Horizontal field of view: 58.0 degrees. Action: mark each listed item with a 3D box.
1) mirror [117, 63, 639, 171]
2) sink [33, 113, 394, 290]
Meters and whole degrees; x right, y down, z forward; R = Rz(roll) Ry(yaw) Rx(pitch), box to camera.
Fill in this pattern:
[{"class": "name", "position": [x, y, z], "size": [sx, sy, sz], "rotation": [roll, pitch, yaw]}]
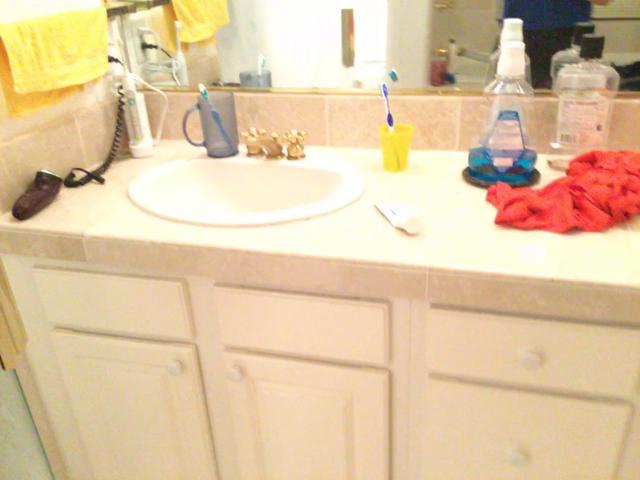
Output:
[{"class": "mirror", "position": [0.640, -0.270, 1.240], "size": [2.270, 0.180, 0.230], "rotation": [5, 25, 15]}, {"class": "sink", "position": [-0.180, -0.120, 1.250], "size": [0.610, 0.200, 0.460], "rotation": [5, 25, 15]}]
